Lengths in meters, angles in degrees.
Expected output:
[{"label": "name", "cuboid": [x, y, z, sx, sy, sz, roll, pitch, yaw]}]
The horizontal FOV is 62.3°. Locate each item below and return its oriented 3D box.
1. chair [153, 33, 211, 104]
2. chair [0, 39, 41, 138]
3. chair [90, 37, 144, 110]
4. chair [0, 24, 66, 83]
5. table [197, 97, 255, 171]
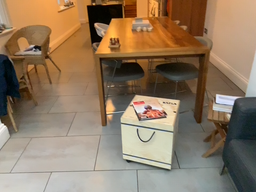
[{"label": "chair", "cuboid": [0.600, -0.330, 2.550, 0.530, 0.730, 0.440, -1, 28, 2]}, {"label": "chair", "cuboid": [-1.480, -0.110, 2.230, 0.680, 0.770, 0.780, -2, 27, 0]}, {"label": "chair", "cuboid": [-0.100, -0.270, 2.480, 0.540, 0.730, 0.440, -1, 28, 1]}, {"label": "chair", "cuboid": [-1.450, -0.680, 3.320, 0.630, 0.770, 0.610, 1, 28, 6]}, {"label": "table", "cuboid": [0.800, 0.290, 1.670, 0.360, 0.440, 0.360, -1, 27, 1]}]
